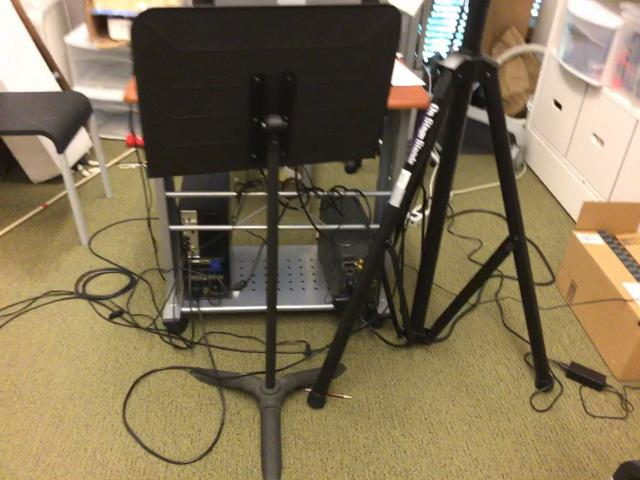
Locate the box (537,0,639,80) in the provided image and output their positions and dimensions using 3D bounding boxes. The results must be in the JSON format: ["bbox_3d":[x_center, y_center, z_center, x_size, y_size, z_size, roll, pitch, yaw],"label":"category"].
[{"bbox_3d":[1.170,-0.830,2.290,0.400,0.270,0.440,1,31,-4],"label":"box"}]

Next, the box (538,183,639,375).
[{"bbox_3d":[0.970,0.100,1.820,0.280,0.340,0.560,1,31,-4],"label":"box"}]

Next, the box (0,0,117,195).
[{"bbox_3d":[-1.230,-0.670,2.430,0.490,0.740,0.640,1,31,-4],"label":"box"}]
